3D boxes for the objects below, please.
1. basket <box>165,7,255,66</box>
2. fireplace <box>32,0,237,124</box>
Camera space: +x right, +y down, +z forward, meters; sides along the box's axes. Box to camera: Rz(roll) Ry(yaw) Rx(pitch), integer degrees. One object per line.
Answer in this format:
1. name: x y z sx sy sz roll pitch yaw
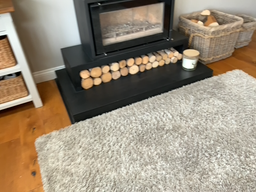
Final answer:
1. basket: 0.930 -0.740 2.530 0.700 0.380 0.630 -17 40 -19
2. fireplace: 0.040 -0.530 1.950 1.470 0.790 0.830 -18 40 -20
